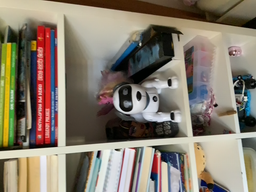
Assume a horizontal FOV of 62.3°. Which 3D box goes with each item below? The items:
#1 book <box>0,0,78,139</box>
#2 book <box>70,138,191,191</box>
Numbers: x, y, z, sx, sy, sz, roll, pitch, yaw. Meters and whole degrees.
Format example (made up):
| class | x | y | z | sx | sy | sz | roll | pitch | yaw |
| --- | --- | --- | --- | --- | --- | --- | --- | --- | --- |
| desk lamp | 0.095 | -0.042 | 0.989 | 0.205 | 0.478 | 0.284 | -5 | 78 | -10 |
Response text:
| class | x | y | z | sx | sy | sz | roll | pitch | yaw |
| --- | --- | --- | --- | --- | --- | --- | --- | --- | --- |
| book | -0.260 | -0.050 | 0.650 | 0.340 | 0.170 | 0.350 | 150 | 119 | -68 |
| book | -0.030 | 0.310 | 0.660 | 0.400 | 0.260 | 0.330 | 154 | 115 | -68 |
